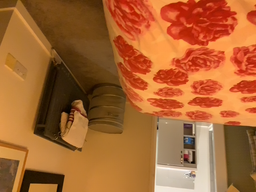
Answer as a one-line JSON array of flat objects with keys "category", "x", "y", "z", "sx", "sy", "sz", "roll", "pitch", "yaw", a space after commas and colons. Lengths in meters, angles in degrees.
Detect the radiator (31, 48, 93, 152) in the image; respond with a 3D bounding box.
[{"category": "radiator", "x": -0.640, "y": 0.130, "z": 2.370, "sx": 0.150, "sy": 0.820, "sz": 1.110, "roll": 4, "pitch": 159, "yaw": 5}]
